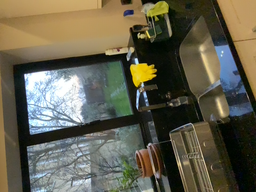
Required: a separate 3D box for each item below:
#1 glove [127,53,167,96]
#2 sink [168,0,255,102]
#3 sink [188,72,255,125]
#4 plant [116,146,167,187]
[{"bbox_3d":[0.130,-0.150,1.580,0.280,0.200,0.200,111,147,-71],"label":"glove"},{"bbox_3d":[0.480,-0.270,1.270,0.430,0.240,0.470,111,147,-71],"label":"sink"},{"bbox_3d":[0.520,0.030,1.180,0.360,0.200,0.160,111,147,-71],"label":"sink"},{"bbox_3d":[0.080,0.470,1.450,0.250,0.270,0.190,114,144,-73],"label":"plant"}]
